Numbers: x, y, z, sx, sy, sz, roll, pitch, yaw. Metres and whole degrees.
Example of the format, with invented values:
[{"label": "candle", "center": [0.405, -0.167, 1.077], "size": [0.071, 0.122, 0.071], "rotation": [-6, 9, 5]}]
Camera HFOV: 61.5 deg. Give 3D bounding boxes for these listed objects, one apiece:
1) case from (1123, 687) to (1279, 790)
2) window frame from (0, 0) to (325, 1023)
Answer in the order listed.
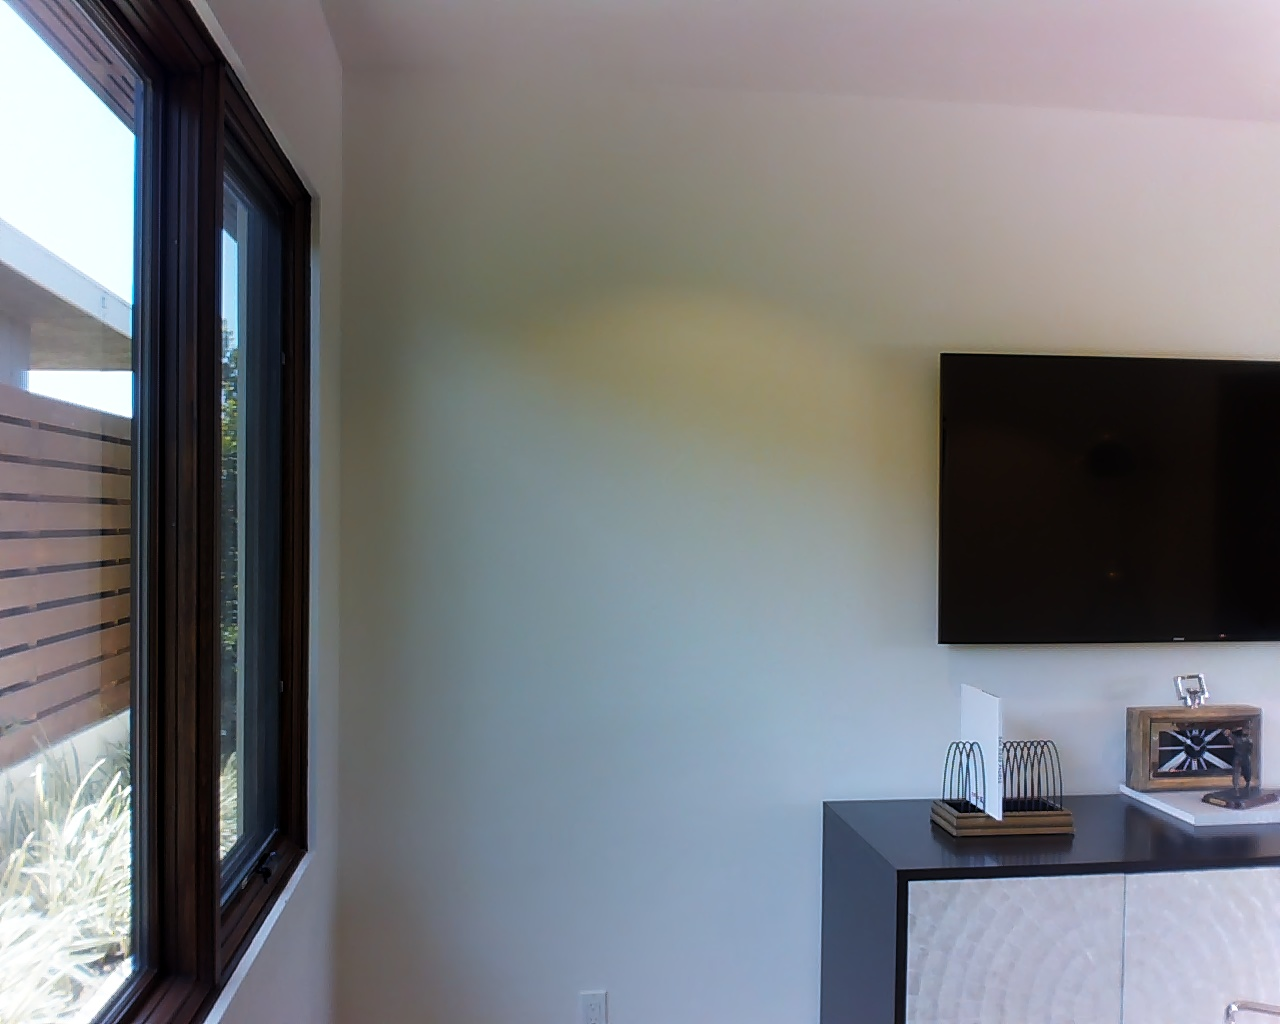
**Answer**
[{"label": "case", "center": [1.540, 0.610, 2.920], "size": [0.410, 0.240, 0.130], "rotation": [0, 0, -9]}, {"label": "window frame", "center": [-0.610, 0.010, 0.680], "size": [0.240, 1.510, 3.520], "rotation": [0, 0, -7]}]
